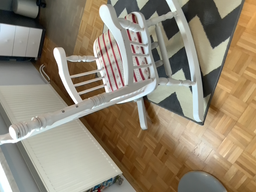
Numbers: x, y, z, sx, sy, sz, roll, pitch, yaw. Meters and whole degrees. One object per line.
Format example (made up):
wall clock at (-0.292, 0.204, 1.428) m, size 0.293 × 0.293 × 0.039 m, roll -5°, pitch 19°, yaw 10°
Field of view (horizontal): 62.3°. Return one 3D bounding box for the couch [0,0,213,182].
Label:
couch at (-0.160, -0.200, 1.180) m, size 0.620 × 1.150 × 0.880 m, roll -17°, pitch 83°, yaw 42°

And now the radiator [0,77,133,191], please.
radiator at (-0.740, 0.250, 2.040) m, size 1.530 × 0.740 × 0.180 m, roll 38°, pitch 118°, yaw 33°
